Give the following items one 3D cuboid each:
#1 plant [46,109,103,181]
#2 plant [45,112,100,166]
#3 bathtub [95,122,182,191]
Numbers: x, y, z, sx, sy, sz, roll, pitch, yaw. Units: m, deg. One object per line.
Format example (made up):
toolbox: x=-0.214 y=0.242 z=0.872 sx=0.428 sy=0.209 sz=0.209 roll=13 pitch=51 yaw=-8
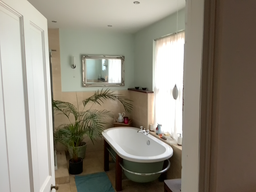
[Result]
plant: x=-0.900 y=0.760 z=3.580 sx=0.820 sy=0.960 sz=0.620 roll=-3 pitch=7 yaw=-17
plant: x=-1.070 y=0.780 z=4.080 sx=0.910 sy=0.760 sz=0.680 roll=-3 pitch=7 yaw=-17
bathtub: x=0.040 y=0.950 z=3.500 sx=0.830 sy=0.600 sz=1.690 roll=-3 pitch=7 yaw=-20
